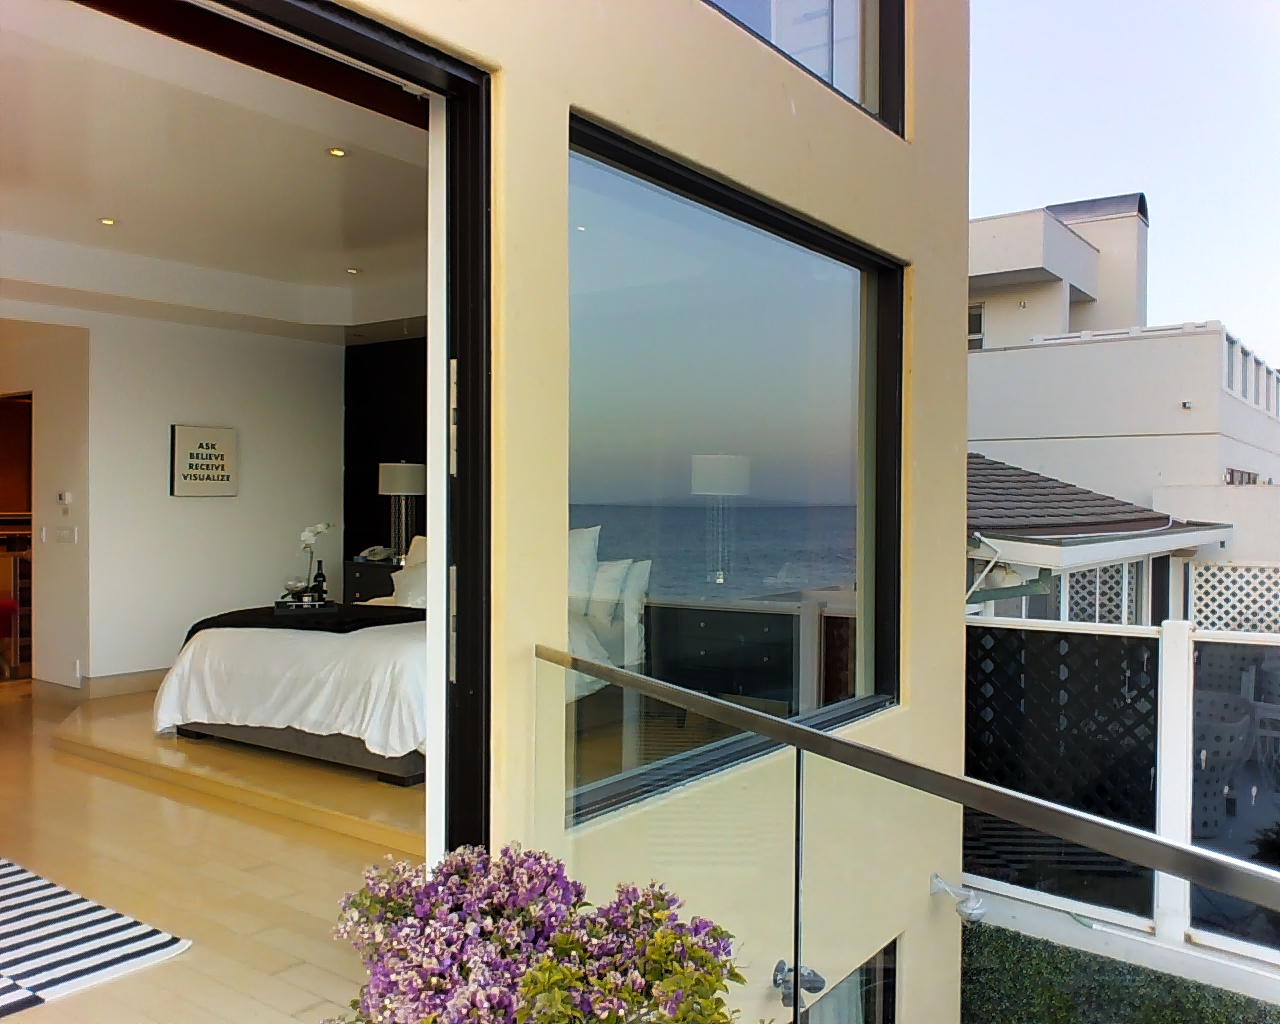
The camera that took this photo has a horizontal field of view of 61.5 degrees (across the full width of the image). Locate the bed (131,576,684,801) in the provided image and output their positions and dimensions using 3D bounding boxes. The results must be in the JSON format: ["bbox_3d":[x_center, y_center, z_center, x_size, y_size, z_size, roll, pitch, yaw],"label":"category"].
[{"bbox_3d":[-1.369,0.920,6.650,2.349,0.780,2.380,1,1,36],"label":"bed"}]
